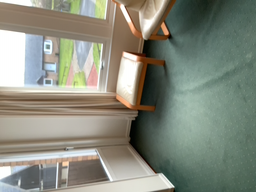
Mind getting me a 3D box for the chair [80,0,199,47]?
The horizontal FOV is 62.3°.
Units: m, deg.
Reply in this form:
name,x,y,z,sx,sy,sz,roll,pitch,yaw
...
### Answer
name,x,y,z,sx,sy,sz,roll,pitch,yaw
chair,0.070,-1.150,2.340,0.720,1.000,0.830,119,144,-46
